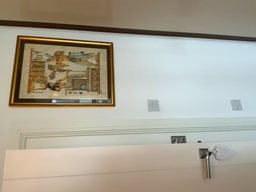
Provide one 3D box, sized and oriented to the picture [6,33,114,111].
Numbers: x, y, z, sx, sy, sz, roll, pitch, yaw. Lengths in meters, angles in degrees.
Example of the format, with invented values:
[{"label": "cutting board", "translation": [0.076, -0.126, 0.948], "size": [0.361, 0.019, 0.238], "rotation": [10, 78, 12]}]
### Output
[{"label": "picture", "translation": [-0.430, -0.160, 1.440], "size": [0.050, 0.660, 0.520], "rotation": [126, 143, -70]}]
